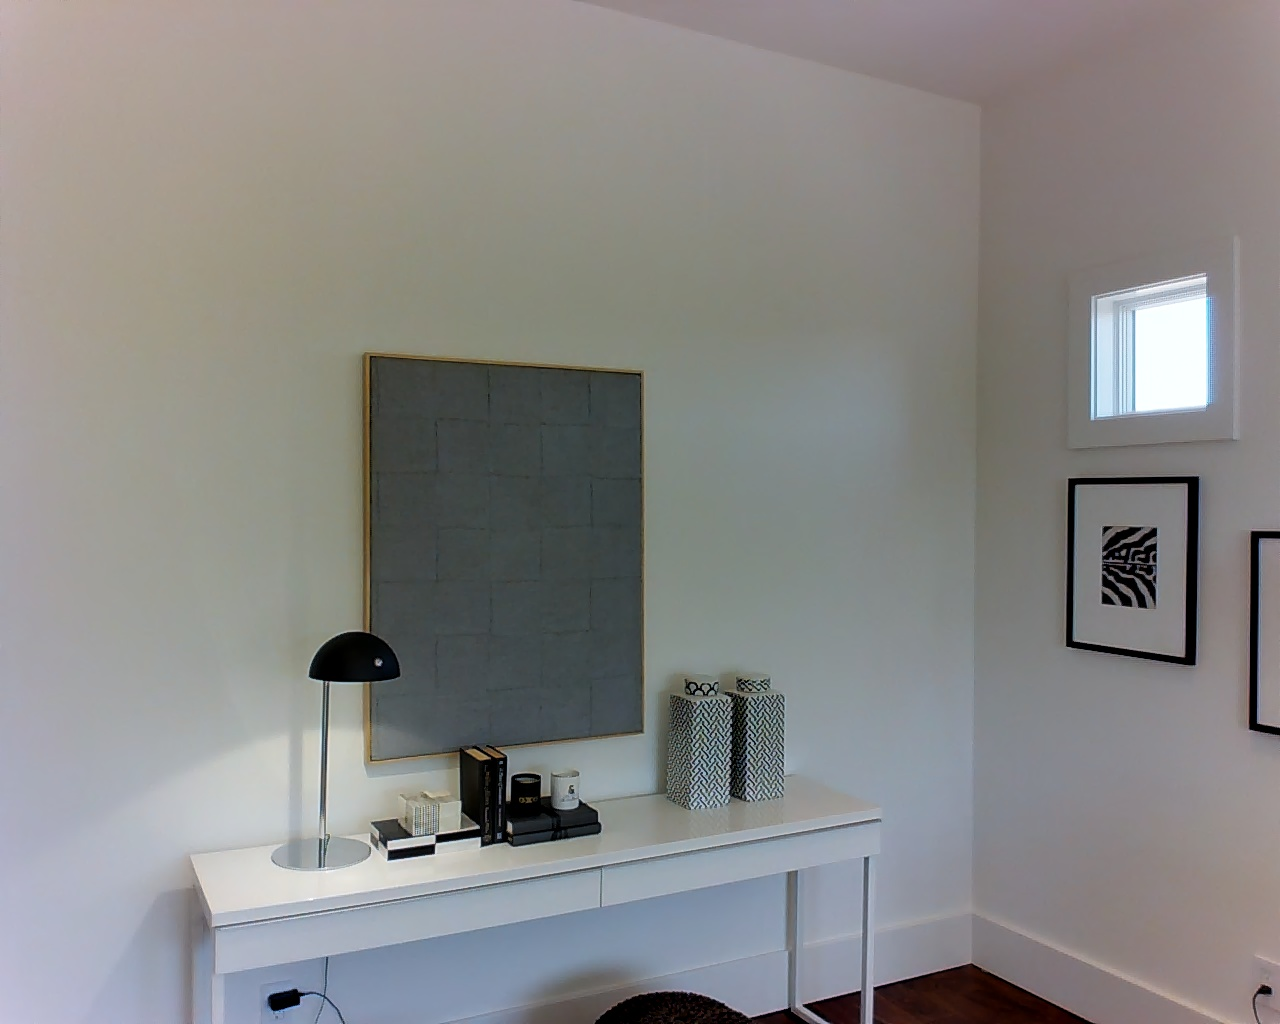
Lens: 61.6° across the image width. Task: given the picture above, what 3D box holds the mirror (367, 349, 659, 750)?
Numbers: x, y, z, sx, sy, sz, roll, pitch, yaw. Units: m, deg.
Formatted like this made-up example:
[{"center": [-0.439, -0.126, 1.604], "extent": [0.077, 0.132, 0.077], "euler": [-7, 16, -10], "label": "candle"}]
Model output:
[{"center": [-0.330, 0.100, 2.980], "extent": [0.830, 1.030, 0.060], "euler": [1, 0, -28], "label": "mirror"}]
